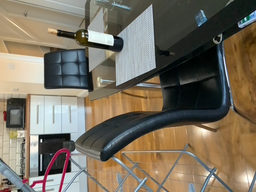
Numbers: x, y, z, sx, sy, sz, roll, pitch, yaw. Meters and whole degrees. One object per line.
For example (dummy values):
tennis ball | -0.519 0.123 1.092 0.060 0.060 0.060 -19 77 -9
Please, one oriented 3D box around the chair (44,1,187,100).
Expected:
chair | -0.130 -0.270 1.750 0.640 0.960 0.420 -31 61 55

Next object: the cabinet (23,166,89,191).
cabinet | -1.150 1.480 3.370 0.580 0.900 0.550 -25 67 57

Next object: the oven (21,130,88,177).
oven | -1.210 0.920 3.490 0.580 0.920 0.610 -25 67 57
